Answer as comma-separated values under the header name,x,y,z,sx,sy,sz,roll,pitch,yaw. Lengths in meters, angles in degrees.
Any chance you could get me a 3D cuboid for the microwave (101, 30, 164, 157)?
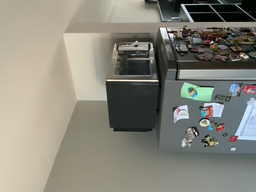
name,x,y,z,sx,sy,sz,roll,pitch,yaw
microwave,0.040,-0.030,1.480,0.620,0.310,0.630,-86,-4,-50
